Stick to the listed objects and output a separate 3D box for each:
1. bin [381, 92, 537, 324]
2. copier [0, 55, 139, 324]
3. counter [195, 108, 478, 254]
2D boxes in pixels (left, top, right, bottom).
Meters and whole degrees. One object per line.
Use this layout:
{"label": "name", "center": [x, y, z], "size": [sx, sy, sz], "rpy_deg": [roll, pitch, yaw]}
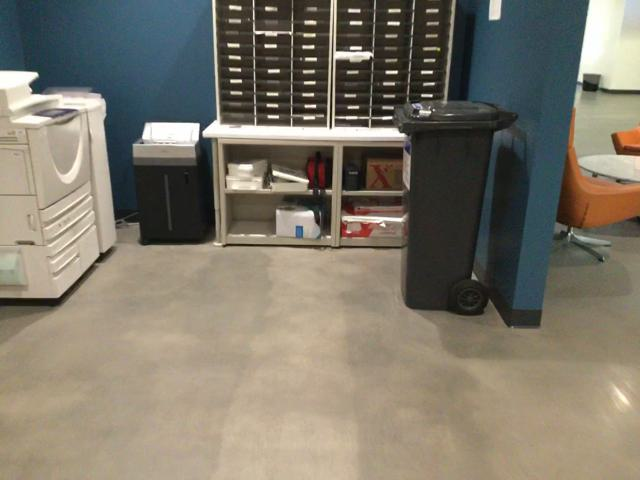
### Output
{"label": "bin", "center": [0.630, -0.170, 2.850], "size": [0.540, 1.030, 0.520], "rpy_deg": [0, 21, -2]}
{"label": "copier", "center": [-1.530, -0.360, 3.060], "size": [0.680, 1.110, 1.290], "rpy_deg": [0, 21, -2]}
{"label": "counter", "center": [0.090, -0.380, 3.670], "size": [1.620, 0.820, 0.470], "rpy_deg": [0, 21, -2]}
